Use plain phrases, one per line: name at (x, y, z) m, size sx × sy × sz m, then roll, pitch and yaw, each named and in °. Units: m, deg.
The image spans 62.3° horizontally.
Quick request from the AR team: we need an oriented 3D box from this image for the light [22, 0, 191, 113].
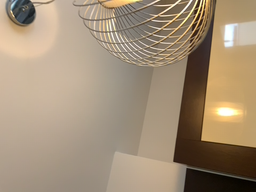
light at (-0.080, -0.380, 0.820) m, size 0.380 × 0.470 × 0.810 m, roll -12°, pitch -96°, yaw 32°
